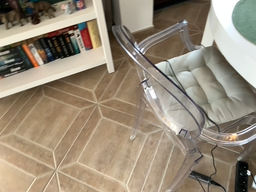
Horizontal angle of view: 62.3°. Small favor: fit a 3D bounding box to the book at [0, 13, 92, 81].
[{"bbox_3d":[-0.750,-0.310,1.490,0.930,0.250,0.170,-19,55,-9],"label":"book"}]
